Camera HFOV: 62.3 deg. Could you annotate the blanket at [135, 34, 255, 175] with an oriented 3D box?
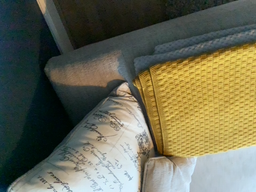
[{"bbox_3d":[0.390,0.050,0.830,0.620,0.110,0.510,-12,121,8],"label":"blanket"}]
